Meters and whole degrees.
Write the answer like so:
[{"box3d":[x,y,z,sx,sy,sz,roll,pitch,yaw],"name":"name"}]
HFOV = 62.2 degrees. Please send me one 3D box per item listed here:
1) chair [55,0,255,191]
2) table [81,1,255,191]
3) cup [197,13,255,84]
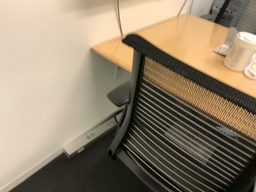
[{"box3d":[0.240,0.210,1.020,0.810,1.040,0.730,32,42,23],"name":"chair"},{"box3d":[0.640,0.020,1.540,1.280,0.810,1.400,31,42,22],"name":"table"},{"box3d":[0.760,-0.290,1.270,0.470,0.180,0.510,33,43,24],"name":"cup"}]
